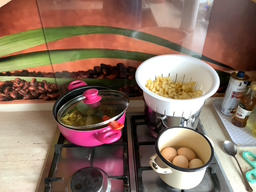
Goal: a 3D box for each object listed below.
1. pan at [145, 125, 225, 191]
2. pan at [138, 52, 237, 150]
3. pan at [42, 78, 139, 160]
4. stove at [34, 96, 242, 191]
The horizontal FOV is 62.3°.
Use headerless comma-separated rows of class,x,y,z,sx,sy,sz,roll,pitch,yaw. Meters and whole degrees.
pan,0.160,0.200,0.660,0.180,0.120,0.170,-4,37,-6
pan,0.180,0.010,0.800,0.270,0.250,0.280,1,37,0
pan,-0.120,0.070,0.800,0.290,0.130,0.300,-1,37,-2
stove,0.020,0.190,0.750,0.600,0.030,0.560,-2,37,-3
